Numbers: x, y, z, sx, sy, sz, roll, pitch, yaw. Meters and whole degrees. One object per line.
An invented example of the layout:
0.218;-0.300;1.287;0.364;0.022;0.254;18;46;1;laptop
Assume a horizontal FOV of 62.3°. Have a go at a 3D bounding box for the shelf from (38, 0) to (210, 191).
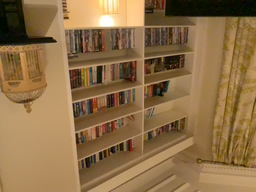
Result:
0.100;-0.100;2.250;1.700;1.950;0.430;-15;-156;-37;shelf
